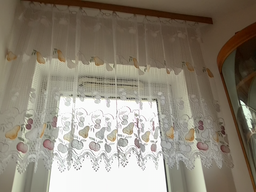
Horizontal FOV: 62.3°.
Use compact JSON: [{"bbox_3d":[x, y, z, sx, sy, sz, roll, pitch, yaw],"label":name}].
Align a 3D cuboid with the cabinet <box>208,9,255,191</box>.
[{"bbox_3d":[0.630,0.110,0.920,0.280,0.960,0.330,-18,-31,27],"label":"cabinet"}]
